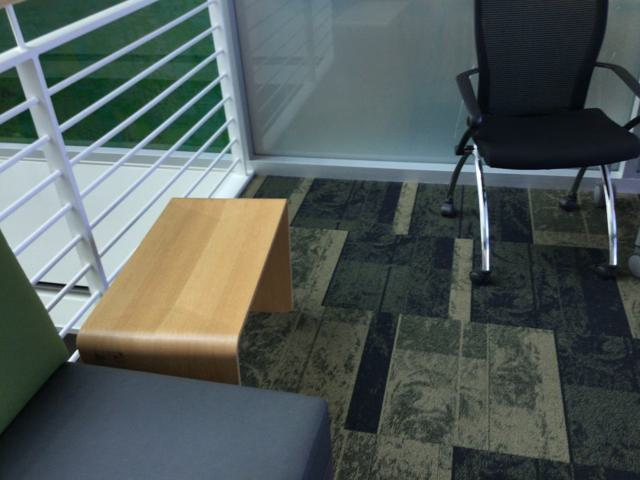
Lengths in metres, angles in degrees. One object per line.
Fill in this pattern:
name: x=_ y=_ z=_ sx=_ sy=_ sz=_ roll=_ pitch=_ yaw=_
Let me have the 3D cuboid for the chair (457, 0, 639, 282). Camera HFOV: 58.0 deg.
chair: x=0.810 y=-0.440 z=1.970 sx=0.660 sy=0.940 sz=0.670 roll=0 pitch=30 yaw=14

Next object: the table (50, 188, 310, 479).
table: x=-0.300 y=0.220 z=1.580 sx=0.380 sy=0.450 sz=0.700 roll=-2 pitch=30 yaw=11
